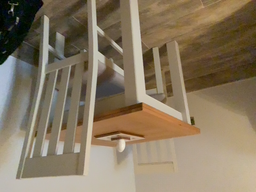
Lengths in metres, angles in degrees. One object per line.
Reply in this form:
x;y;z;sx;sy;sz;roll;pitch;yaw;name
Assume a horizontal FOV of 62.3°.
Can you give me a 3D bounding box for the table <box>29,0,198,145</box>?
-0.070;-0.100;1.560;0.810;0.760;0.820;-15;157;31;table
